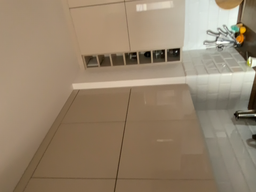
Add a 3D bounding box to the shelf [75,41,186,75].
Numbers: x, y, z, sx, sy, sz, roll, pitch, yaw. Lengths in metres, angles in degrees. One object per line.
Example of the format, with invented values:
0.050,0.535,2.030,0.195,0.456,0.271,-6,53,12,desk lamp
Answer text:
0.030,-0.410,2.300,0.320,1.110,0.180,-80,-15,-56,shelf
